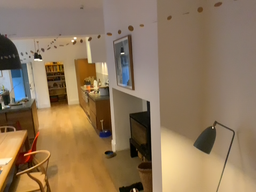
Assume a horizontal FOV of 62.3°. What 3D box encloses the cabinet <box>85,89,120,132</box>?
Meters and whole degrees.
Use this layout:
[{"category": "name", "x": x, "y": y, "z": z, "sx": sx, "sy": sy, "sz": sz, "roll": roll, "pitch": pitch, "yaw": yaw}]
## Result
[{"category": "cabinet", "x": -0.740, "y": 0.360, "z": 5.960, "sx": 0.670, "sy": 0.890, "sz": 1.180, "roll": -7, "pitch": 11, "yaw": -19}]
